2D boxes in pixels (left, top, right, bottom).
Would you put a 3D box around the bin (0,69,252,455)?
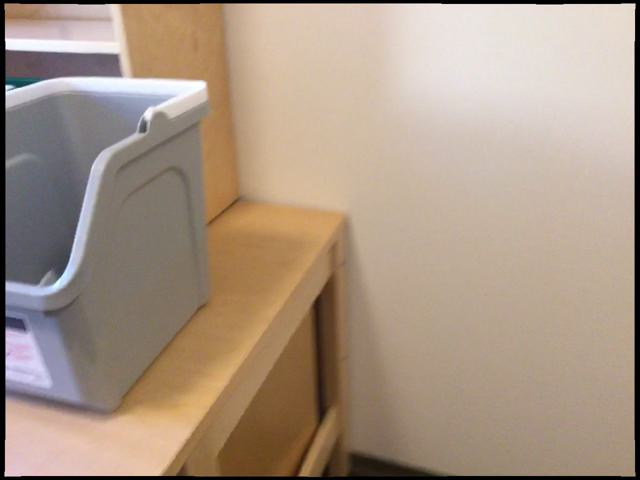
[{"bbox_3d":[-0.379,-0.020,0.810,0.399,0.341,0.390,9,29,20],"label":"bin"}]
